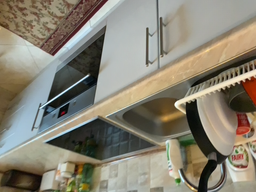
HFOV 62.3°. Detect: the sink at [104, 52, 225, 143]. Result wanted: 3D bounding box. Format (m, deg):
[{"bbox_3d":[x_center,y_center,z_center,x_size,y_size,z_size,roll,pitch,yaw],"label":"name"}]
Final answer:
[{"bbox_3d":[0.180,0.050,1.090,0.440,0.180,0.390,-26,136,37],"label":"sink"}]
